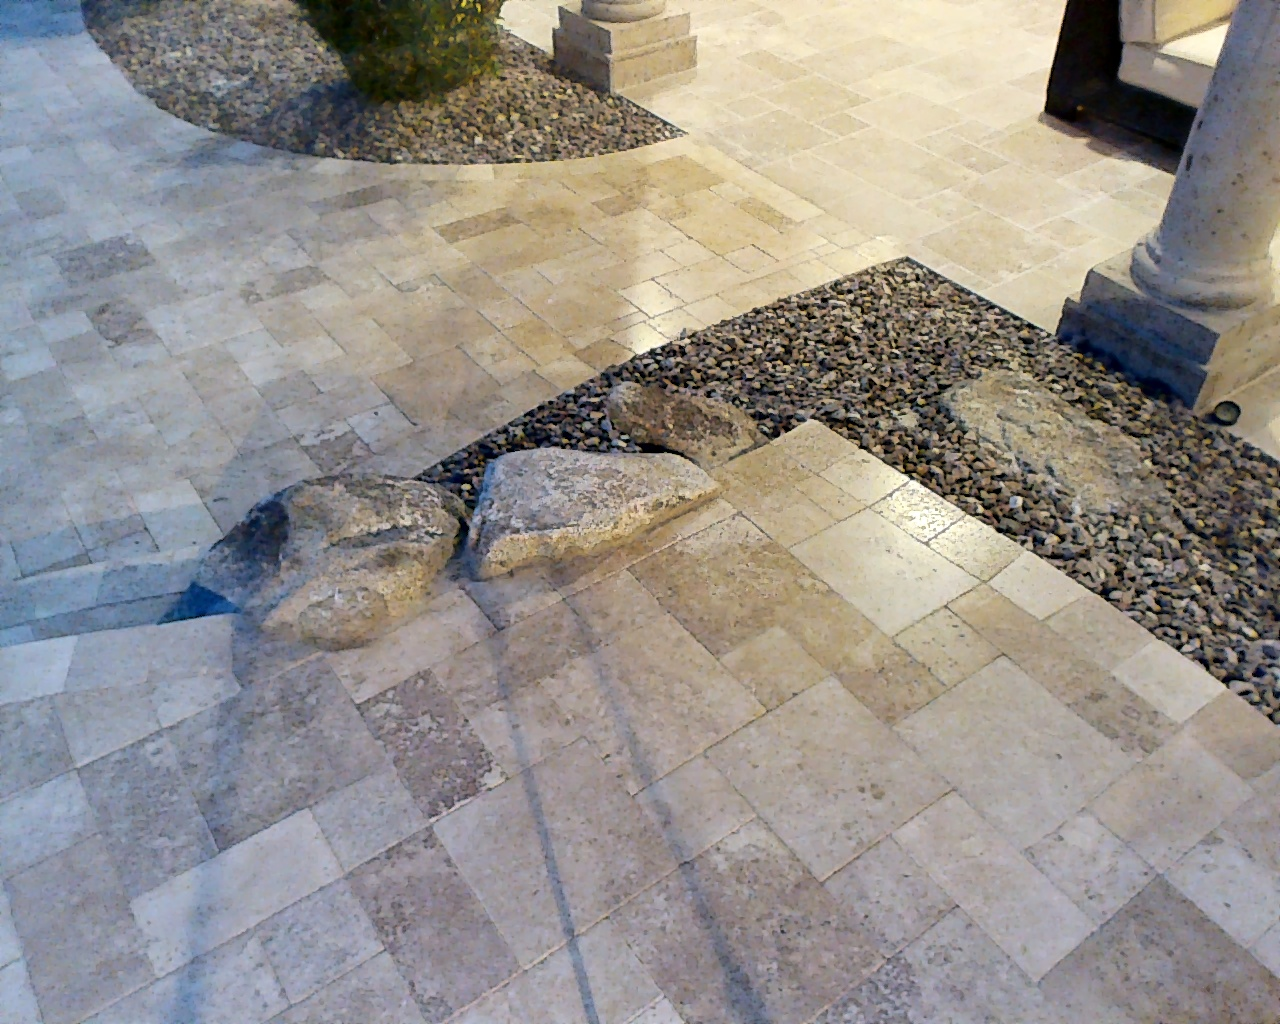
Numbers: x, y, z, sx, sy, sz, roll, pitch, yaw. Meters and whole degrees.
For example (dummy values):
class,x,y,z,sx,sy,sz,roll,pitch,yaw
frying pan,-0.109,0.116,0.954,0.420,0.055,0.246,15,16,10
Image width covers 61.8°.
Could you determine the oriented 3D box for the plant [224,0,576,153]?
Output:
class,x,y,z,sx,sy,sz,roll,pitch,yaw
plant,-1.000,-2.249,4.610,1.140,0.890,0.990,11,44,12
